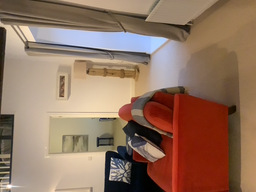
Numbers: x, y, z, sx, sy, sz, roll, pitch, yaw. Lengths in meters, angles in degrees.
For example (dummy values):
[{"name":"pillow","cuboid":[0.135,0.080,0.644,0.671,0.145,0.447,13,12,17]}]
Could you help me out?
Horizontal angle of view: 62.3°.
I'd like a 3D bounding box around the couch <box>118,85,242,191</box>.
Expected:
[{"name":"couch","cuboid":[0.430,0.500,2.400,1.340,0.790,1.070,165,106,-75]}]
